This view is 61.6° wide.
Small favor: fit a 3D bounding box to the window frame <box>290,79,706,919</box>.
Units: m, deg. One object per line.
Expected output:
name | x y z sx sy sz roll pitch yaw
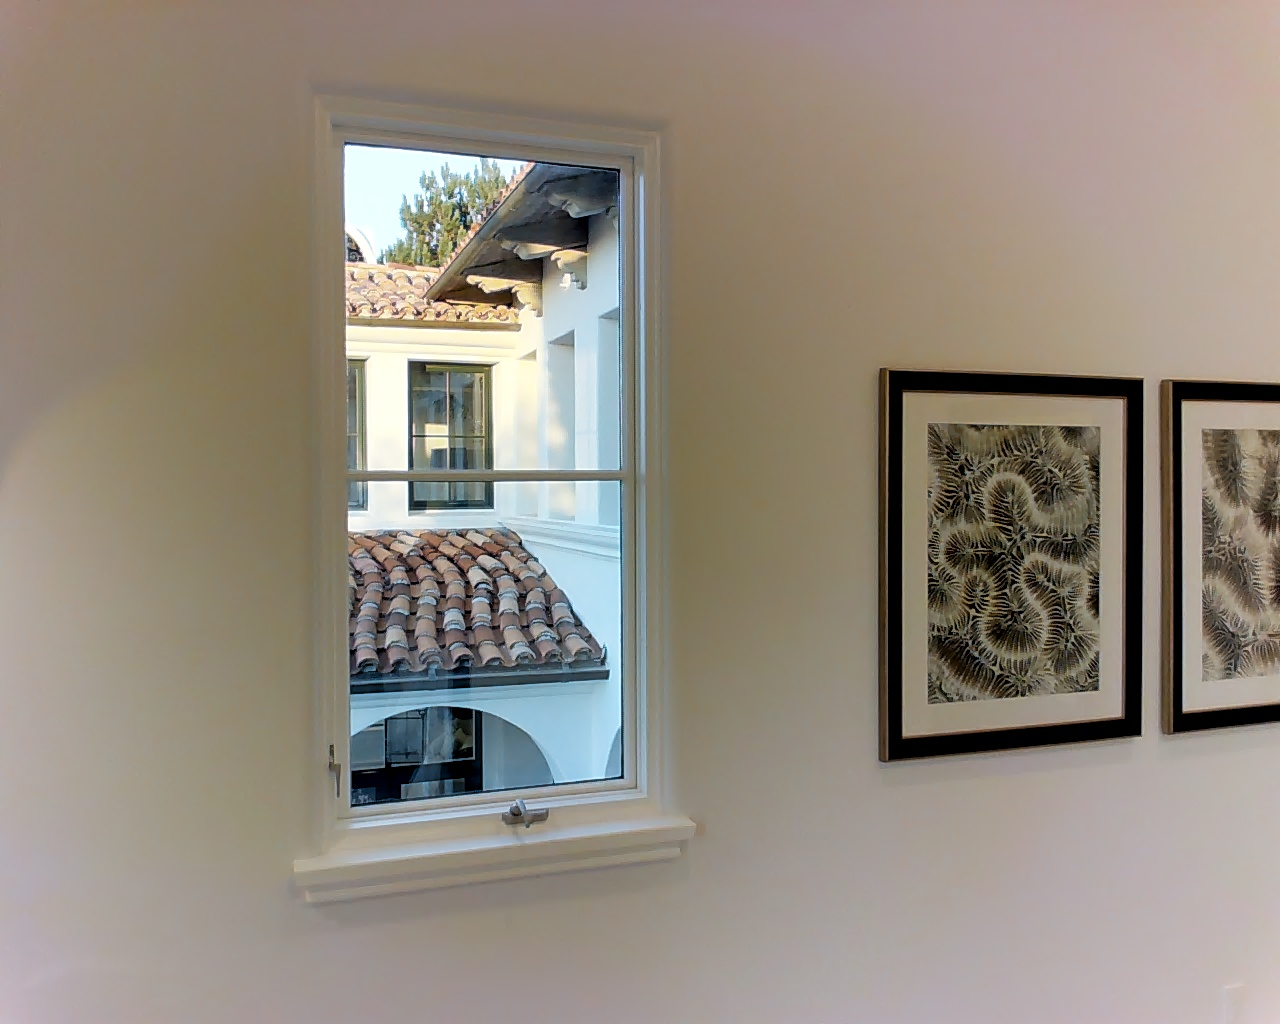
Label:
window frame | -0.290 -0.020 2.250 0.840 1.590 0.170 0 1 -19
